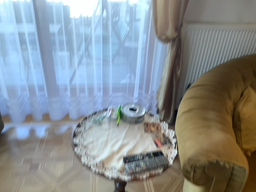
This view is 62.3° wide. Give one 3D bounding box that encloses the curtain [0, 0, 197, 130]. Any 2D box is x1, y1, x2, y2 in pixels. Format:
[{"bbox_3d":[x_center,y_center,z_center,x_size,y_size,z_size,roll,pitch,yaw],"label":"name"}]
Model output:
[{"bbox_3d":[-0.600,-0.860,1.690,2.390,2.710,0.150,-1,31,-8],"label":"curtain"}]
